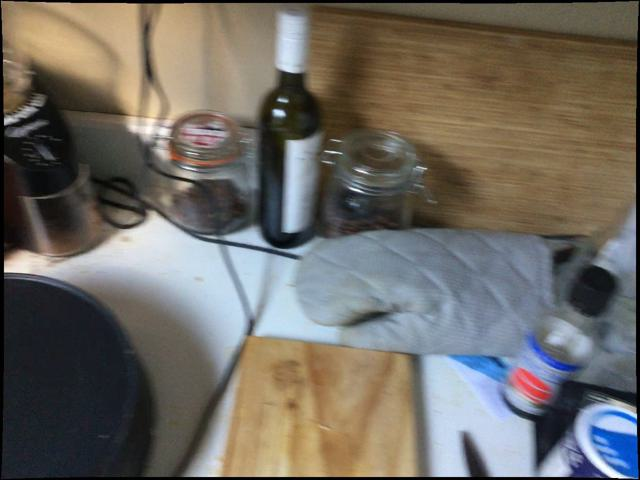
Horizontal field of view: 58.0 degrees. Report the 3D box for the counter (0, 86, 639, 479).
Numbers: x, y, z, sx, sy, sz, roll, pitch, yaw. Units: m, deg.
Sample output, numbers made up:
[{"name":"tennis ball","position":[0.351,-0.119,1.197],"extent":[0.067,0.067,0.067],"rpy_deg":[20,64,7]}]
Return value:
[{"name":"counter","position":[-0.259,0.130,0.640],"extent":[1.197,0.210,0.661],"rpy_deg":[8,46,-8]}]
